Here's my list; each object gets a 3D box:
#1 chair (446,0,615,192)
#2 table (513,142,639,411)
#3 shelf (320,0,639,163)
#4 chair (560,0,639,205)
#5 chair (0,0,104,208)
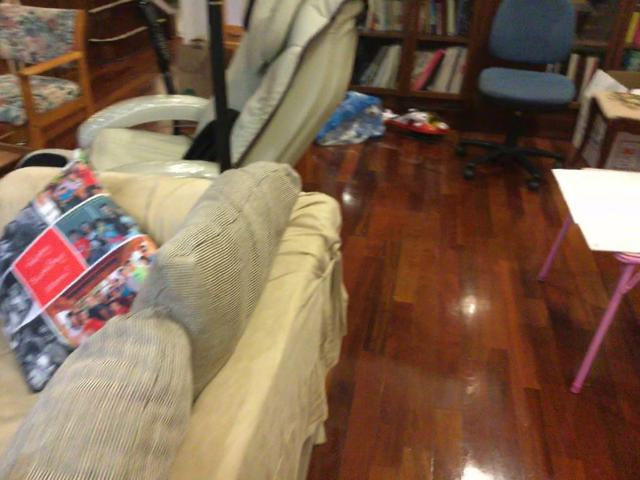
[{"bbox_3d":[1.050,-0.840,3.000,0.550,0.950,0.560,12,31,12],"label":"chair"},{"bbox_3d":[1.130,0.120,1.850,0.800,0.560,0.670,9,31,7],"label":"table"},{"bbox_3d":[1.060,-1.220,3.500,1.990,1.140,0.460,9,31,7],"label":"shelf"},{"bbox_3d":[1.640,-0.710,2.820,0.550,0.930,0.570,9,31,7],"label":"chair"},{"bbox_3d":[-1.550,-0.700,2.810,0.650,0.810,0.610,9,31,7],"label":"chair"}]
